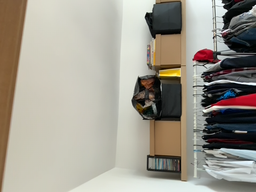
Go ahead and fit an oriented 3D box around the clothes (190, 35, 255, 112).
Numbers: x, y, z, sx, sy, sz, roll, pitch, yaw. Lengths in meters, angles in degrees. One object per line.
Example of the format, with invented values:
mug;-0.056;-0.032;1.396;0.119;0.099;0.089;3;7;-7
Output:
clothes;1.060;-0.160;1.950;0.640;0.910;0.550;33;-122;-73
